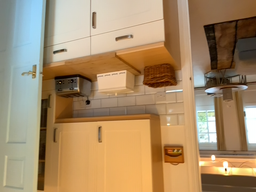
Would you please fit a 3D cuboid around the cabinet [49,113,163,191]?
[{"bbox_3d":[-0.220,0.580,1.950,0.990,0.770,0.320,-6,170,24],"label":"cabinet"}]

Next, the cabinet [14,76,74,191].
[{"bbox_3d":[-0.880,0.440,2.270,0.450,1.210,0.330,-6,170,24],"label":"cabinet"}]
